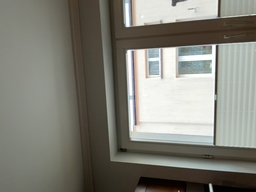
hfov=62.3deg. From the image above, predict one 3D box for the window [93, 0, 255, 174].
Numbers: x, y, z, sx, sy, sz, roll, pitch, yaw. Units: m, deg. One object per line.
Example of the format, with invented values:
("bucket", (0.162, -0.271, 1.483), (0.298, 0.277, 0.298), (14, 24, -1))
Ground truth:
("window", (0.520, -0.290, 1.390), (0.190, 1.480, 1.580), (-36, -56, -71))
